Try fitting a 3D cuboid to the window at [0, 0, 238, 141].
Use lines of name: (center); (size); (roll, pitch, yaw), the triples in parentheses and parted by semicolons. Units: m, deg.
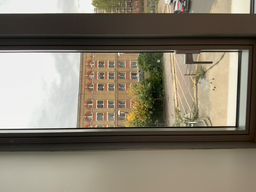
window: (-0.080, -0.630, 1.310); (0.070, 1.520, 1.820); (-116, 26, -85)
